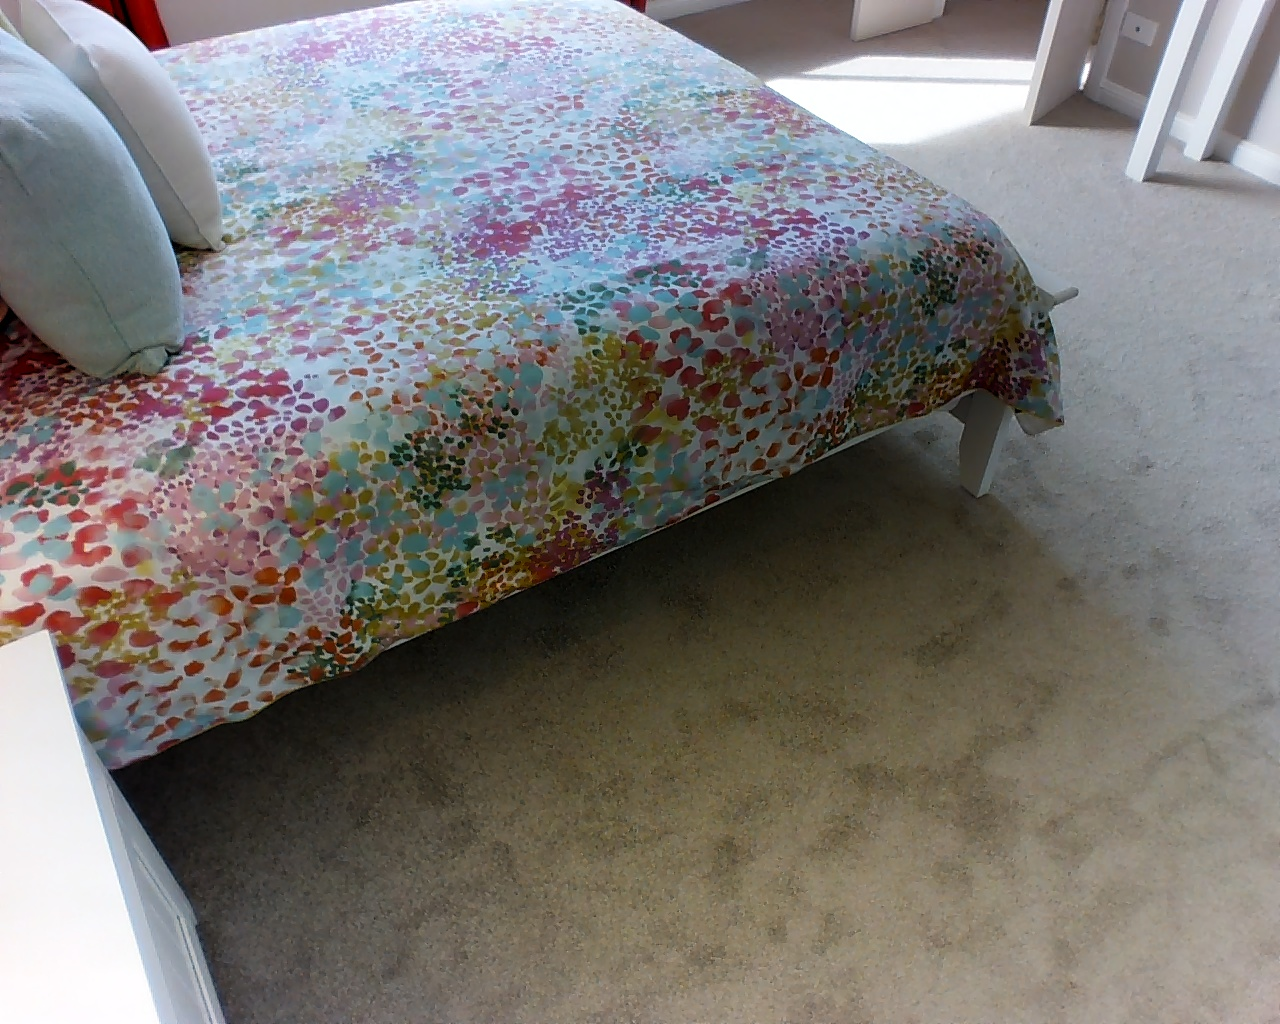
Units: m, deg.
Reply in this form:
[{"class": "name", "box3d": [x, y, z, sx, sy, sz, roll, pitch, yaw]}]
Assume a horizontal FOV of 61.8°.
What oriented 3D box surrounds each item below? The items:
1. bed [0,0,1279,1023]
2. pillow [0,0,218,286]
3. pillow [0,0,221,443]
[{"class": "bed", "box3d": [-0.590, -0.560, 1.910, 2.290, 1.240, 1.940, -24, 49, -23]}, {"class": "pillow", "box3d": [-0.870, -0.640, 1.730, 0.230, 0.380, 0.420, -12, 43, -35]}, {"class": "pillow", "box3d": [-0.830, -0.450, 1.460, 0.280, 0.430, 0.540, -19, 47, -28]}]
